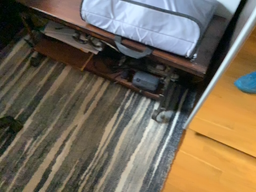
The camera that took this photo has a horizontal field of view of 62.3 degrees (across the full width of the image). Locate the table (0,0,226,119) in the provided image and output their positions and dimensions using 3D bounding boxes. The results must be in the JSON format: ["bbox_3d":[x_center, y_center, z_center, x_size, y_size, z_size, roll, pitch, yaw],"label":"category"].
[{"bbox_3d":[-0.120,-0.280,1.030,0.960,0.420,0.290,23,65,12],"label":"table"}]
